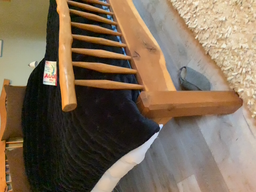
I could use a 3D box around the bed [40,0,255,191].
[{"bbox_3d":[-0.400,-0.060,2.280,2.290,0.810,2.220,-60,40,47],"label":"bed"}]
